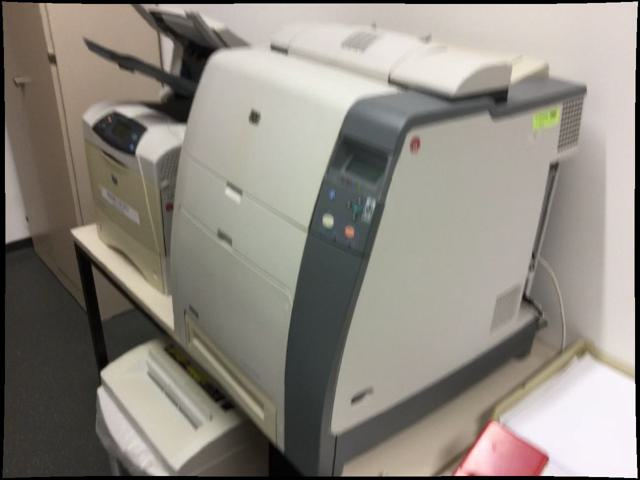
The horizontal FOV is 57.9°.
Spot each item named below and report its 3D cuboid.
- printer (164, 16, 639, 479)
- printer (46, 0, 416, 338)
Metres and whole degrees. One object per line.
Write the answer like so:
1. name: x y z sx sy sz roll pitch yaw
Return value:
1. printer: 0.210 0.000 1.010 0.690 0.620 0.600 -21 38 -38
2. printer: -0.230 -0.260 1.460 0.580 0.600 0.630 -21 38 -38
